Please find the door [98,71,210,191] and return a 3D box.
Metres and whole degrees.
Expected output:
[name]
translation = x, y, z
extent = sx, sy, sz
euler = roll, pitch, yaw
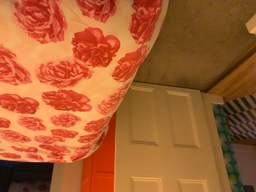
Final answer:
[door]
translation = 0.190, 0.680, 1.470
extent = 0.780, 1.890, 0.130
euler = 8, 149, -13
